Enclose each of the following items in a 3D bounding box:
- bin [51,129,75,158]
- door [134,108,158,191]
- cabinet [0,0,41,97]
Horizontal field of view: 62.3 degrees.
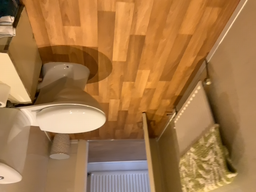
[{"bbox_3d":[-0.780,0.570,2.550,0.200,0.270,0.180,19,141,-33],"label":"bin"},{"bbox_3d":[0.250,1.170,2.100,0.120,2.030,0.670,-9,148,7],"label":"door"},{"bbox_3d":[-0.650,-0.240,1.120,0.220,0.330,0.410,0,148,-7],"label":"cabinet"}]
